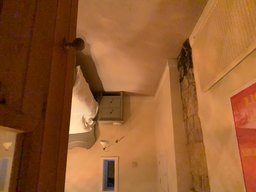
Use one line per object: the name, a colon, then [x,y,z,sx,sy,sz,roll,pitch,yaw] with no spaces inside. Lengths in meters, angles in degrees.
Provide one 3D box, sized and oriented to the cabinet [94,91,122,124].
cabinet: [-0.400,0.250,4.510,0.540,0.630,0.380,1,164,0]
